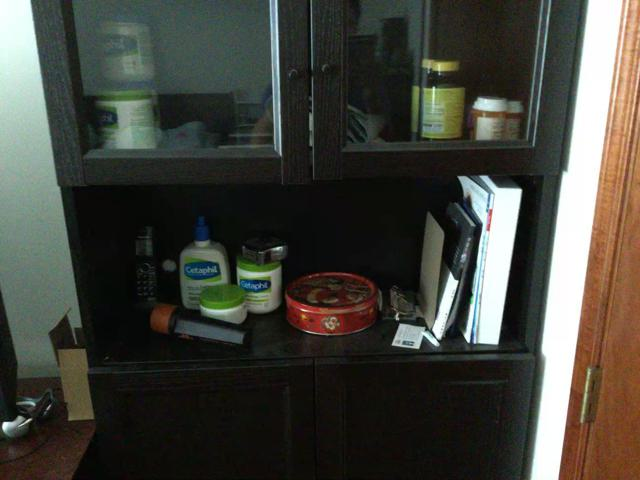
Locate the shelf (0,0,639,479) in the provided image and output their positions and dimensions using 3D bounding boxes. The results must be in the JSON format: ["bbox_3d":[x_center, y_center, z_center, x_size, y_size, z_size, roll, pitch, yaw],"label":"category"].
[{"bbox_3d":[-0.020,0.200,1.130,0.950,1.970,0.440,-3,16,-5],"label":"shelf"}]
